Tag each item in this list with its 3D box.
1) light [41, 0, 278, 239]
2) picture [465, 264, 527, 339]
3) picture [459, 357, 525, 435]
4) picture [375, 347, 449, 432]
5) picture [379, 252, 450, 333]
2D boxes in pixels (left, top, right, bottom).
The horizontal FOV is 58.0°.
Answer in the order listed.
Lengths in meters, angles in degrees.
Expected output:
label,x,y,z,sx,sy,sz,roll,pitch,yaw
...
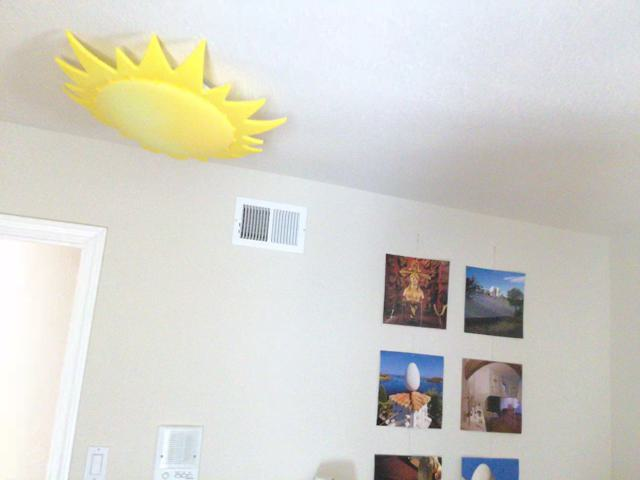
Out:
label,x,y,z,sx,sy,sz,roll,pitch,yaw
light,-0.420,-0.350,1.610,0.520,0.600,0.140,10,-15,-16
picture,0.770,0.270,2.520,0.290,0.290,0.020,10,-15,-15
picture,0.730,0.660,2.440,0.300,0.290,0.020,10,-15,-15
picture,0.380,0.610,2.360,0.300,0.310,0.020,10,-15,-15
picture,0.400,0.220,2.430,0.300,0.300,0.020,10,-15,-15
